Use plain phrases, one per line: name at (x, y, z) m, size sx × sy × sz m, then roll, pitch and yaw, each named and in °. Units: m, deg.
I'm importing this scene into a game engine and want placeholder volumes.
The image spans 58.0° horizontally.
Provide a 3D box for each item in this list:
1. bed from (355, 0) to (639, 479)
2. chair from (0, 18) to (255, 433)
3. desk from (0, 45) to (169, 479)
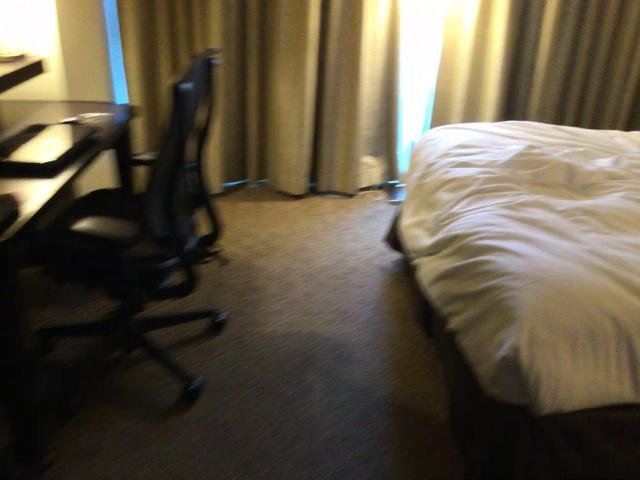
bed at (1.340, -0.280, 1.910) m, size 2.260 × 1.620 × 1.820 m, roll 0°, pitch 25°, yaw -1°
chair at (-0.670, -0.080, 1.910) m, size 0.740 × 1.160 × 0.680 m, roll 3°, pitch 25°, yaw 5°
desk at (-1.090, -0.020, 1.870) m, size 0.760 × 0.980 × 1.550 m, roll 0°, pitch 25°, yaw -1°
